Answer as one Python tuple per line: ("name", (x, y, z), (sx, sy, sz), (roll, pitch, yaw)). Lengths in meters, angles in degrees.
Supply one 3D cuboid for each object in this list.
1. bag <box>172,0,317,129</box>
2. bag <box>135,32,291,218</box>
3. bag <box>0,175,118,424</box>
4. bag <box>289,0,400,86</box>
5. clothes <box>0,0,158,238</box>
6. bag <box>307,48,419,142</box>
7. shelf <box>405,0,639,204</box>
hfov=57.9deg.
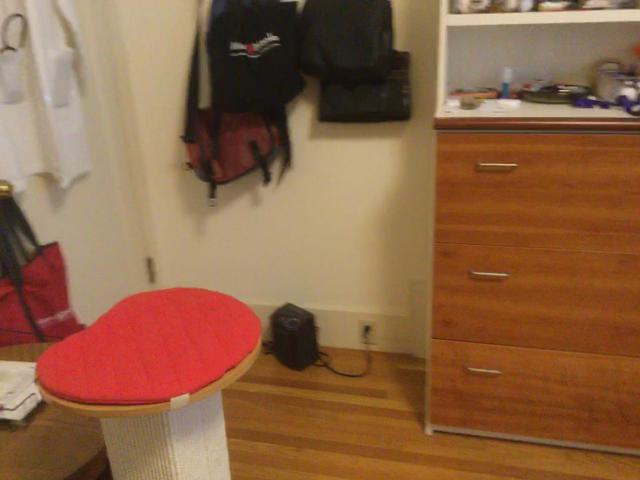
("bag", (-0.230, -0.650, 1.880), (0.380, 0.500, 0.290), (5, 23, 12))
("bag", (-0.350, -0.410, 2.020), (0.430, 0.580, 0.260), (5, 23, 12))
("bag", (-0.800, 0.150, 1.640), (0.190, 0.570, 0.390), (5, 23, 12))
("bag", (0.080, -0.690, 1.810), (0.310, 0.370, 0.200), (5, 23, 12))
("clothes", (-0.790, -0.640, 1.630), (0.200, 1.040, 0.790), (5, 23, 12))
("bag", (0.140, -0.490, 1.940), (0.350, 0.280, 0.120), (5, 23, 12))
("shelf", (0.780, -0.810, 1.460), (1.000, 1.340, 0.490), (5, 23, 12))
